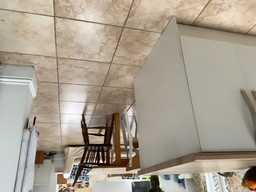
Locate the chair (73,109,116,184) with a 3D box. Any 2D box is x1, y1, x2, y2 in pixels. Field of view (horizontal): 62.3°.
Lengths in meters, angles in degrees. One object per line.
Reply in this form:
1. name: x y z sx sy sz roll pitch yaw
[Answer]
1. chair: -0.490 0.720 3.010 0.520 0.940 0.520 3 155 -14
